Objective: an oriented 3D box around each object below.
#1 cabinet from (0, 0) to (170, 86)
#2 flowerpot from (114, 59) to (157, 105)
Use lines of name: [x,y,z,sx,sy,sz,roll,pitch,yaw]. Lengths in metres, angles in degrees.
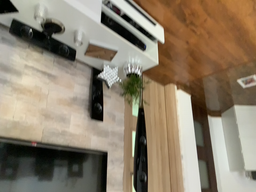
cabinet: [-0.360,-0.520,1.420,0.510,0.340,1.470,-20,150,40]
flowerpot: [0.060,-0.100,1.690,0.230,0.250,0.240,-19,150,39]
